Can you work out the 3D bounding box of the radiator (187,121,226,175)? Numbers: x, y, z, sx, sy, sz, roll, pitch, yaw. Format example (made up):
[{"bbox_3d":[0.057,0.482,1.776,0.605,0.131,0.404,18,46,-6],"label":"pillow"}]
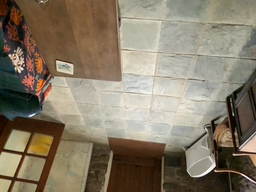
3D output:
[{"bbox_3d":[0.990,0.700,2.780,0.200,0.470,0.670,10,146,-2],"label":"radiator"}]
